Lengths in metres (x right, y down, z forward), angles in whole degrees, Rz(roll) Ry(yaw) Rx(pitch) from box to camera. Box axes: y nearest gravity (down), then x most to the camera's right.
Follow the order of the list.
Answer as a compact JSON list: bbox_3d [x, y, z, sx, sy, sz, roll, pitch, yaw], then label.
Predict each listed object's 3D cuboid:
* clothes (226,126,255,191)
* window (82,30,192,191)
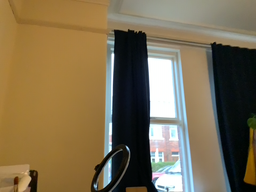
[{"bbox_3d":[1.320,0.710,2.250,0.270,0.730,0.180,-7,-13,-30],"label":"clothes"},{"bbox_3d":[0.090,0.230,2.470,1.130,1.950,0.270,4,-18,-14],"label":"window"}]
